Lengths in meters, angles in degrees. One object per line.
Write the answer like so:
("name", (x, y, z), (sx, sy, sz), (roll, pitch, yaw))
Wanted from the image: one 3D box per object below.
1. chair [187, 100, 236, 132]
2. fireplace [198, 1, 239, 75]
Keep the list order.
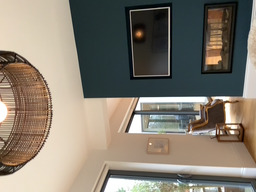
("chair", (1.690, 0.390, 4.380), (0.610, 0.830, 0.590), (7, -97, -80))
("fireplace", (1.260, -0.810, 3.040), (0.290, 0.430, 0.950), (-64, -28, -68))
